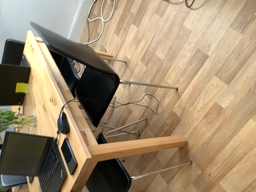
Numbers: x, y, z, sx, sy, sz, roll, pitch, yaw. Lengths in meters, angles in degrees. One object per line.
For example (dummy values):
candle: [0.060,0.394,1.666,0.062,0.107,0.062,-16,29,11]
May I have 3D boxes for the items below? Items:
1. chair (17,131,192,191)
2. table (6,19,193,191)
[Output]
chair: [-0.120,0.530,1.240,0.460,0.830,0.380,43,119,42]
table: [-0.380,0.130,1.650,1.370,0.730,0.760,52,125,38]
